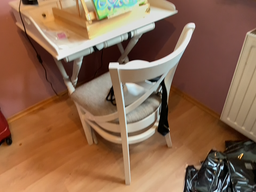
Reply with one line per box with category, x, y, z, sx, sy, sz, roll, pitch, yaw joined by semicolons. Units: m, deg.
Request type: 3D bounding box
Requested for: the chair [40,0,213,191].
chair;0.000;0.020;1.200;0.470;0.910;0.570;-34;49;-29
